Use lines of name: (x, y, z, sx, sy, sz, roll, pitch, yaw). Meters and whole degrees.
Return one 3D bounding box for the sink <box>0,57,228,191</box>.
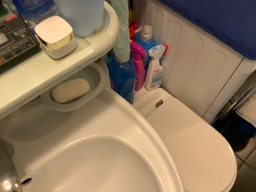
sink: (-0.170, 0.270, 0.470, 0.600, 0.180, 0.500, -38, 67, -20)
